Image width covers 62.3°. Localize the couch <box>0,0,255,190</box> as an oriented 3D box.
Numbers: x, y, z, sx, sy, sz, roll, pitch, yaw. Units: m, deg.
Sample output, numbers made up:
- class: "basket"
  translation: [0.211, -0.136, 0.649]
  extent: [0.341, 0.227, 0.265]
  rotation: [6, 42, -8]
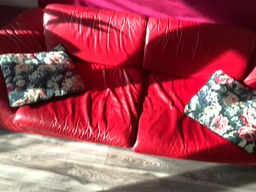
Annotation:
- class: "couch"
  translation: [0.120, -0.230, 1.660]
  extent: [2.450, 0.810, 1.300]
  rotation: [9, 46, 2]
